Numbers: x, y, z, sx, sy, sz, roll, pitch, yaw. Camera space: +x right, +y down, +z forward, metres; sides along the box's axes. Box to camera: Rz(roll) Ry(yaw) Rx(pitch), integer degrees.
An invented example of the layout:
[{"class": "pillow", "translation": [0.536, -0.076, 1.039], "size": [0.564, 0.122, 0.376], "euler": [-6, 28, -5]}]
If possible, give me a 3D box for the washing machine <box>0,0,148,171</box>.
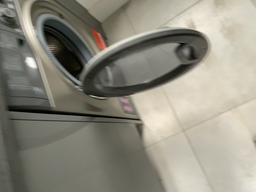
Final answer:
[{"class": "washing machine", "translation": [-0.440, -0.050, 1.010], "size": [0.620, 0.910, 0.600], "euler": [-28, 72, 19]}]
